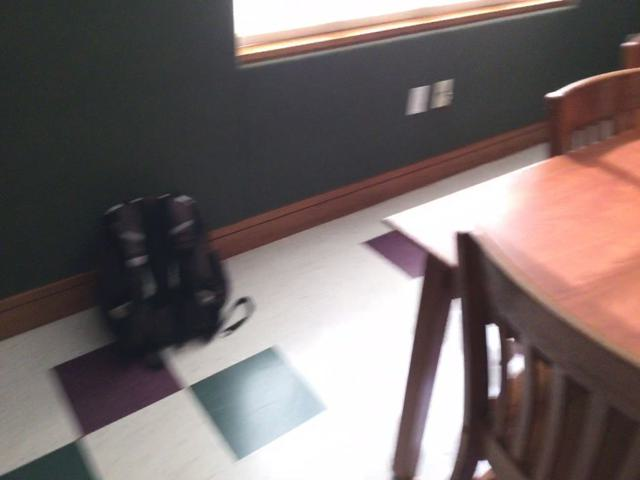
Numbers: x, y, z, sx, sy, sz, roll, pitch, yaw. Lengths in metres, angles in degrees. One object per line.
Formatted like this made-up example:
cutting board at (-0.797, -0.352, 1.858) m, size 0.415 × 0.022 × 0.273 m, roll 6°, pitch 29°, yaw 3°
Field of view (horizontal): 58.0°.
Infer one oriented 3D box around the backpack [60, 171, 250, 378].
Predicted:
backpack at (-0.510, 0.090, 1.840) m, size 0.420 × 0.420 × 0.360 m, roll -22°, pitch 39°, yaw -29°
